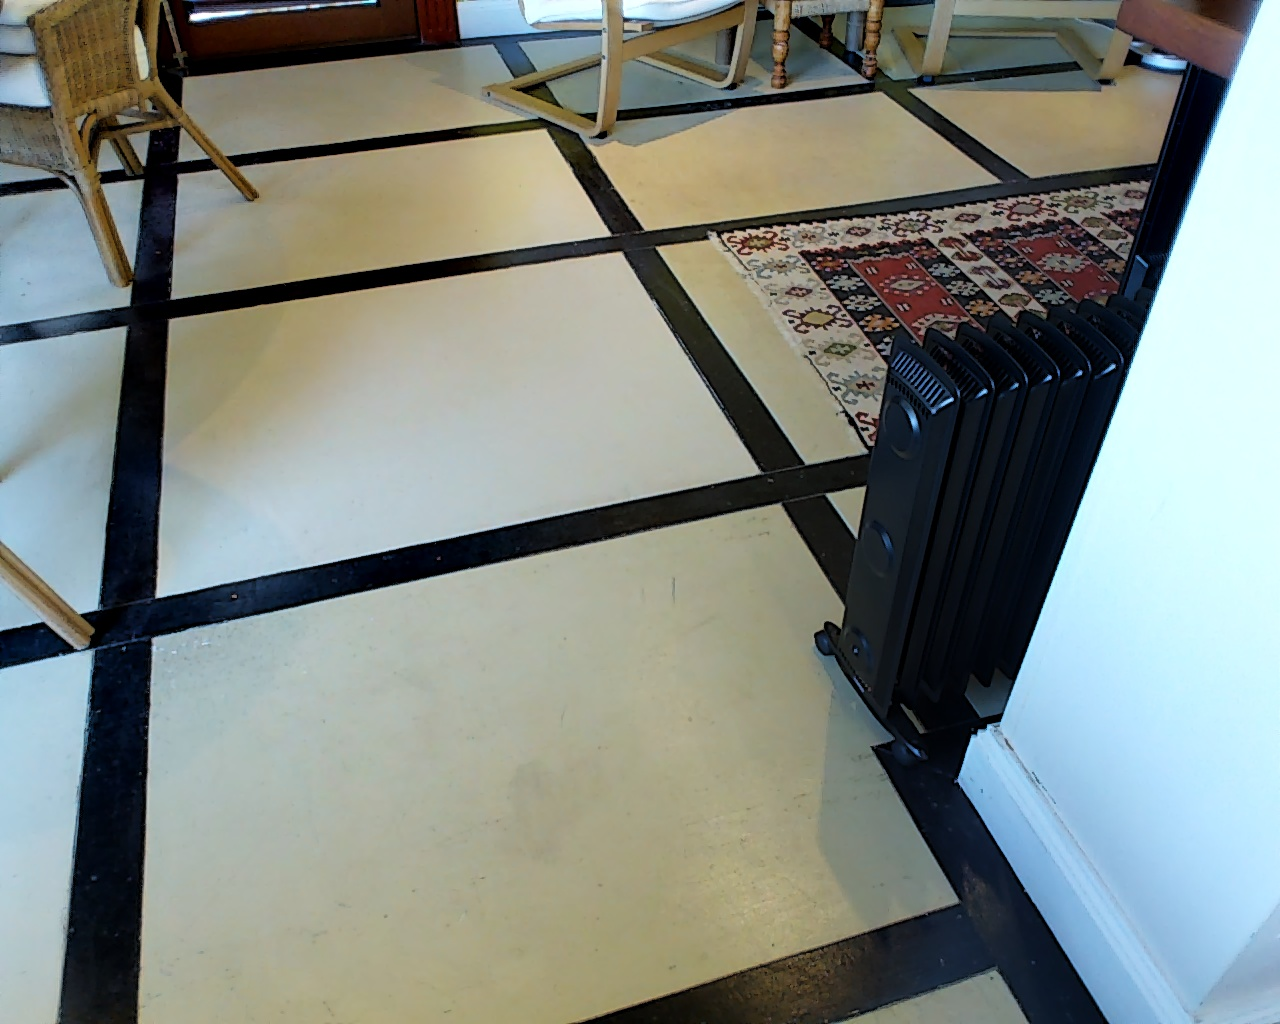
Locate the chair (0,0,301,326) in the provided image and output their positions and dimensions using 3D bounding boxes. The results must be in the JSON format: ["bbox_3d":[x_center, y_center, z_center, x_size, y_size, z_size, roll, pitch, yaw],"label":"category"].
[{"bbox_3d":[-1.380,-1.020,2.630,0.610,0.760,0.700,19,44,21],"label":"chair"}]
